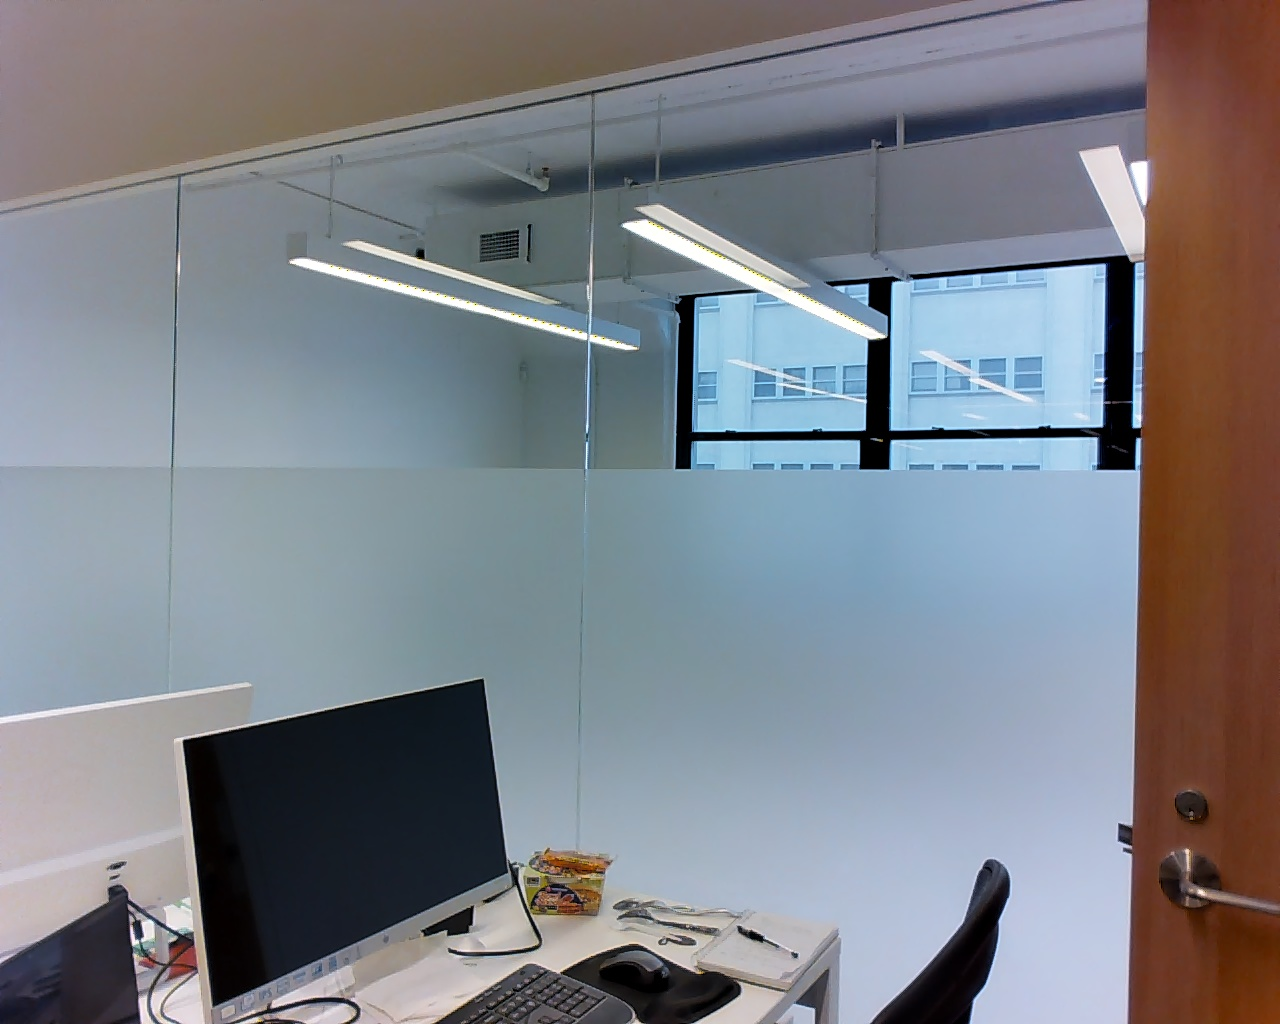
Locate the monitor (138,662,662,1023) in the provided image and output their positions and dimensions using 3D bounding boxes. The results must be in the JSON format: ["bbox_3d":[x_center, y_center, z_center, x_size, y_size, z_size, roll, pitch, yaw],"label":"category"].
[{"bbox_3d":[-0.290,0.500,1.640,0.270,0.420,0.870,1,0,29],"label":"monitor"}]
